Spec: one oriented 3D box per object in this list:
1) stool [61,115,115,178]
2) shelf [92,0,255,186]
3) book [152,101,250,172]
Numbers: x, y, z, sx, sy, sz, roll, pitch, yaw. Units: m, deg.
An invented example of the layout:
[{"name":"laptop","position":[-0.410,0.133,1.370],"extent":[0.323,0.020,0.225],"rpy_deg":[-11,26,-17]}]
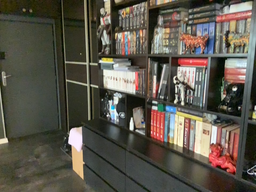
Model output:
[{"name":"stool","position":[-0.540,0.640,2.850],"extent":[0.500,0.570,0.530],"rpy_deg":[-9,15,-38]},{"name":"shelf","position":[0.940,-0.390,0.980],"extent":[0.320,1.830,3.870],"rpy_deg":[-9,15,-38]},{"name":"book","position":[0.510,0.260,1.630],"extent":[0.200,0.310,0.690],"rpy_deg":[-9,15,-39]}]
